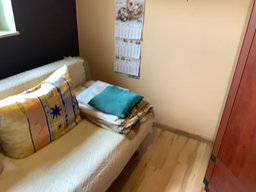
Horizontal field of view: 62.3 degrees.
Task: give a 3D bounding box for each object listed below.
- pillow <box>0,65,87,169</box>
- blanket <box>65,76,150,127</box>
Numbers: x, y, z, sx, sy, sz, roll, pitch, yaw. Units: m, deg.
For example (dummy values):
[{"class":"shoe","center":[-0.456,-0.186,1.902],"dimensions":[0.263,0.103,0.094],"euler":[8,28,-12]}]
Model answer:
[{"class":"pillow","center":[-0.590,0.090,1.450],"dimensions":[0.240,0.400,0.660],"euler":[17,30,24]},{"class":"blanket","center":[-0.170,0.020,1.860],"dimensions":[0.590,0.130,0.430],"euler":[16,30,23]}]
